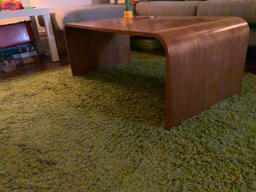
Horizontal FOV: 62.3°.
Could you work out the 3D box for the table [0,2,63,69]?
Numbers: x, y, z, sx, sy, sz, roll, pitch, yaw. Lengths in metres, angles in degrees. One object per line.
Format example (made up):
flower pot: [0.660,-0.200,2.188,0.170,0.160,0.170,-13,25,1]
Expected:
table: [-1.040,-0.590,1.950,0.590,0.460,0.610,-20,30,-32]

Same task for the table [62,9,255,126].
table: [0.080,-0.280,1.190,0.480,0.350,1.020,-20,30,-31]
